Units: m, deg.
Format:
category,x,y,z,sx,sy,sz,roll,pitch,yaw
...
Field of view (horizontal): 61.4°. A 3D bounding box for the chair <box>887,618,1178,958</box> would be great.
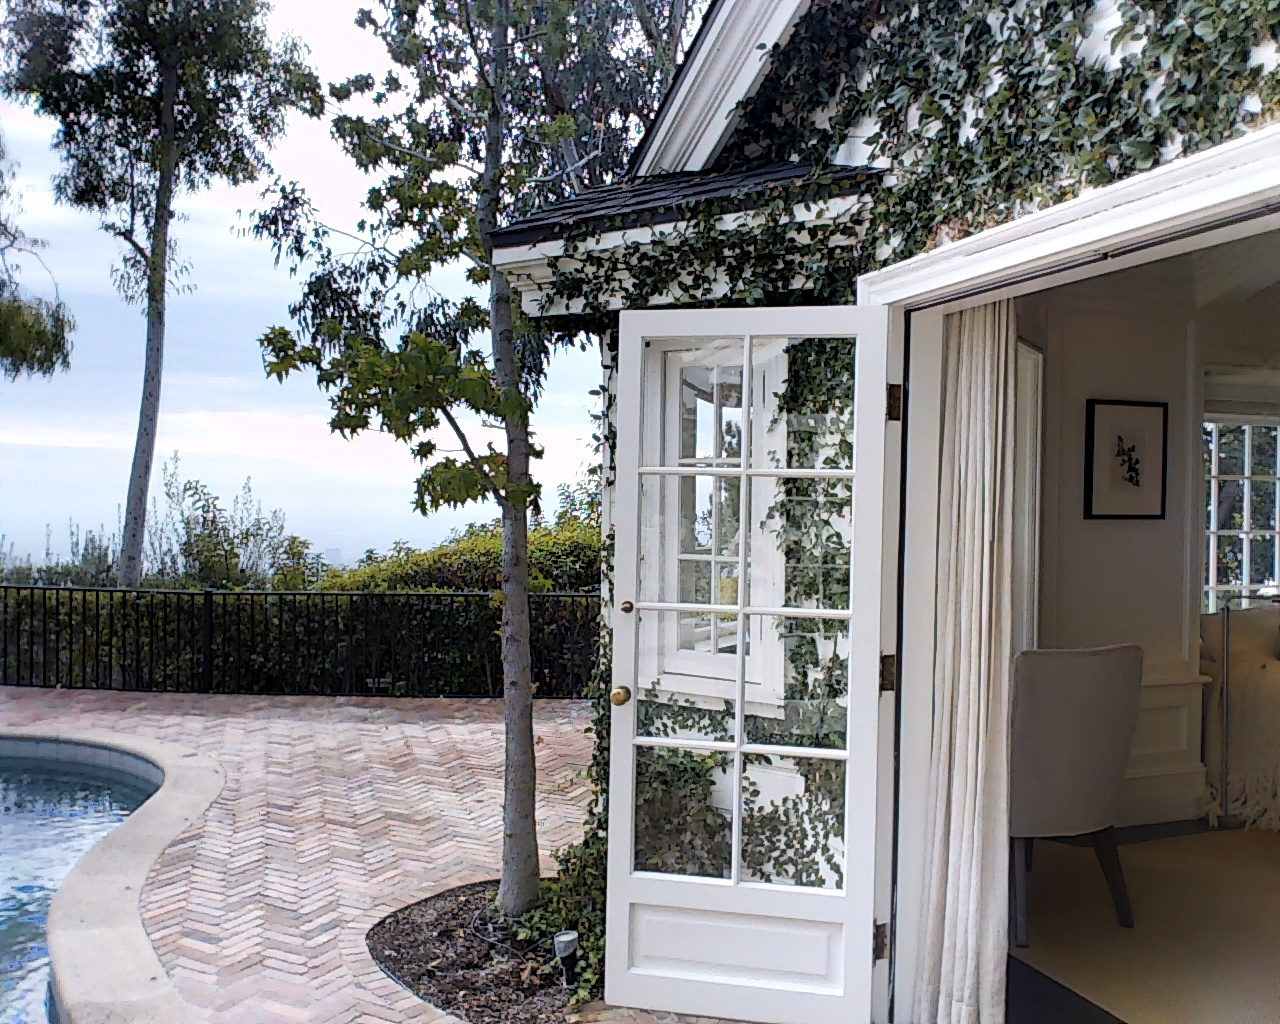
category,x,y,z,sx,sy,sz,roll,pitch,yaw
chair,1.390,0.930,3.910,0.660,1.000,0.750,0,0,-18
